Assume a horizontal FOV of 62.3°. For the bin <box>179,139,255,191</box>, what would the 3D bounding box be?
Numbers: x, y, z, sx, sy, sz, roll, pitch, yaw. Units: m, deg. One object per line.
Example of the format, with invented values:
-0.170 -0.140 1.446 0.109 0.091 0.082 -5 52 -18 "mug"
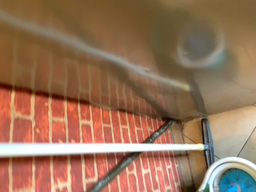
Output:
0.450 0.480 0.980 0.310 0.220 0.450 41 105 35 "bin"
